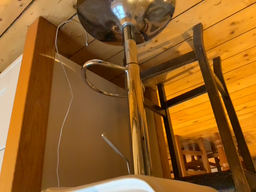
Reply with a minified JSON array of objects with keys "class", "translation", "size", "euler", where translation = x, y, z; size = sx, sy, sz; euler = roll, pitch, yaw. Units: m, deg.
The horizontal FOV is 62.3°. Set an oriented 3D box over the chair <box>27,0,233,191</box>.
[{"class":"chair","translation":[0.000,-0.020,0.730],"size":[0.400,0.760,0.410],"euler":[-23,148,30]}]
